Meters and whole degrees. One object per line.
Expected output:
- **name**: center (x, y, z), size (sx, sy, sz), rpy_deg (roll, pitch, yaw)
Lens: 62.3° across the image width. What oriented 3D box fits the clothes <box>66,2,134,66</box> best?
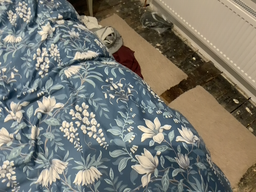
- **clothes**: center (-0.230, -0.520, 1.750), size (0.350, 0.170, 0.440), rpy_deg (-33, 67, -22)
